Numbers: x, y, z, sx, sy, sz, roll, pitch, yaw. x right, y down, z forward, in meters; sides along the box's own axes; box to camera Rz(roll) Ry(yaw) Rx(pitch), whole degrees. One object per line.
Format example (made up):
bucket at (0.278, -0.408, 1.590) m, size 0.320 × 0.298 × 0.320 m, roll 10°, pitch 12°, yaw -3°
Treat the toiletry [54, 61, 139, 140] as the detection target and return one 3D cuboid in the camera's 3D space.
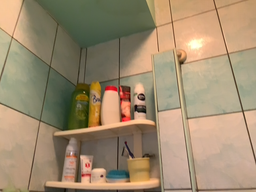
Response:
toiletry at (-0.130, 0.030, 0.950) m, size 0.320 × 0.280 × 0.150 m, roll -8°, pitch -27°, yaw 15°
